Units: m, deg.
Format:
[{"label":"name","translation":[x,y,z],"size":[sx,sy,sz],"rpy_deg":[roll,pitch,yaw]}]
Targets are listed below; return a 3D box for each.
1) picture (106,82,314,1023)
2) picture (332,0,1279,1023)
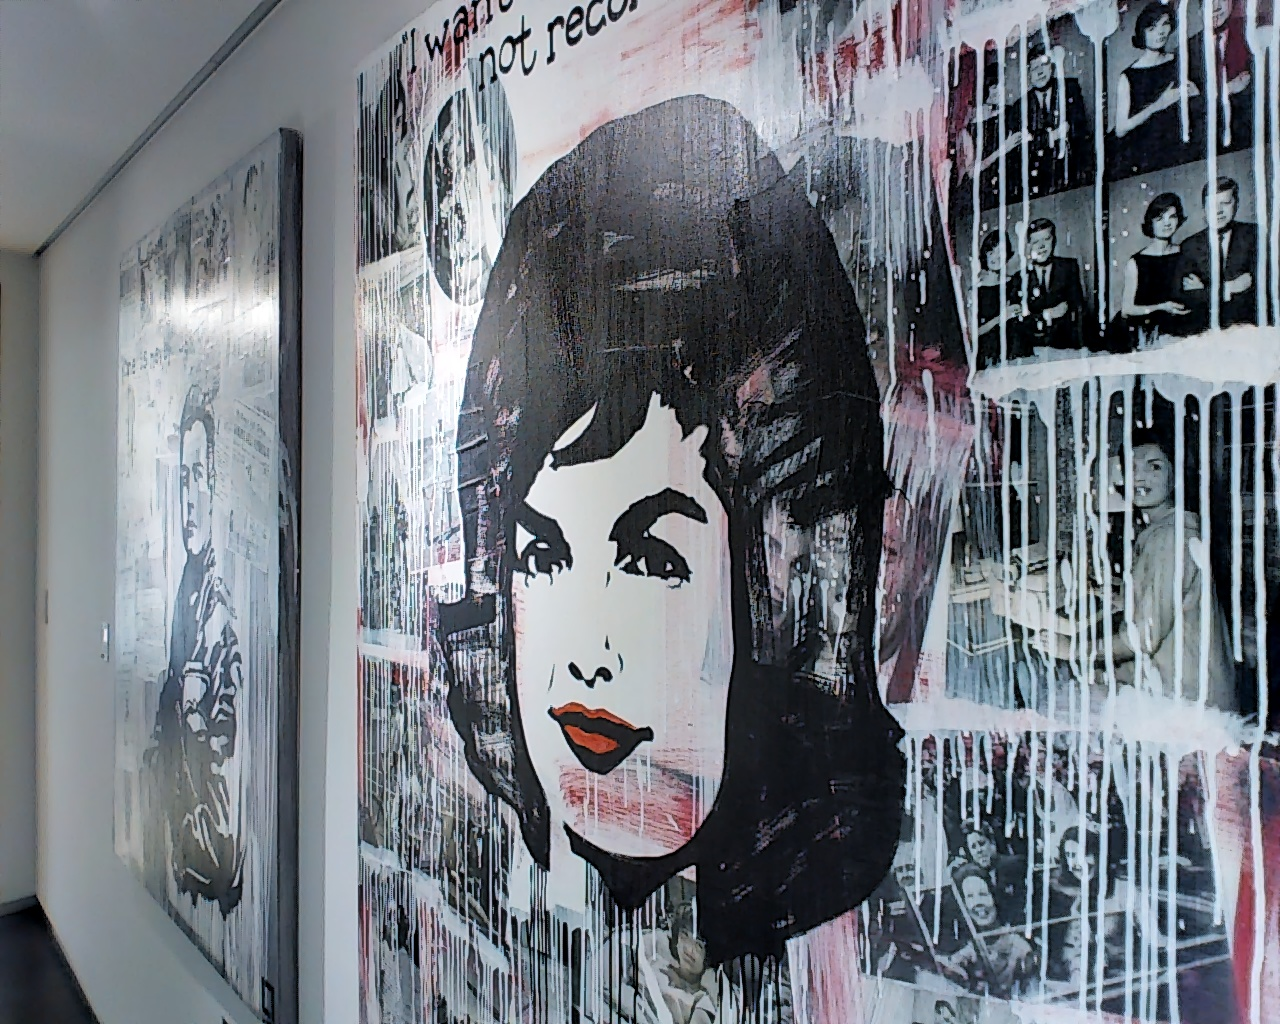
[{"label":"picture","translation":[-0.960,0.110,2.280],"size":[0.050,1.640,1.280],"rpy_deg":[0,1,-37]},{"label":"picture","translation":[-0.010,0.120,1.030],"size":[0.060,1.590,1.310],"rpy_deg":[0,1,-37]}]
